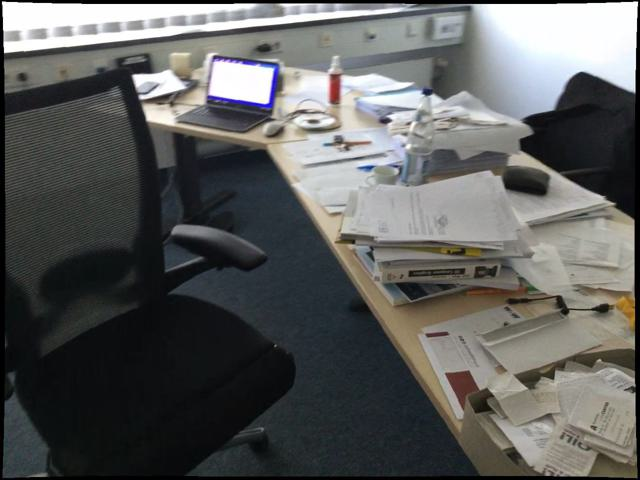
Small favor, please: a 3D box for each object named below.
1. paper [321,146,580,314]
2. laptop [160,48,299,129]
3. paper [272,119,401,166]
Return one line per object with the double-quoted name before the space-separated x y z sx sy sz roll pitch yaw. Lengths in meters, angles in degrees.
"paper" 0.240 -0.040 1.280 0.470 0.180 0.410 -1 32 0
"laptop" -0.330 -0.581 2.180 0.390 0.170 0.330 13 34 21
"paper" 0.050 -0.330 1.920 0.360 0.020 0.240 -12 33 -18
